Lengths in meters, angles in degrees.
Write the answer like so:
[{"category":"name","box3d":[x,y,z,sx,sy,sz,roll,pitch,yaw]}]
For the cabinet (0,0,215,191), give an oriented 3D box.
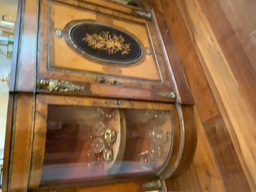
[{"category":"cabinet","box3d":[-0.200,-0.220,1.460,0.480,1.020,1.510,-47,46,50]}]
